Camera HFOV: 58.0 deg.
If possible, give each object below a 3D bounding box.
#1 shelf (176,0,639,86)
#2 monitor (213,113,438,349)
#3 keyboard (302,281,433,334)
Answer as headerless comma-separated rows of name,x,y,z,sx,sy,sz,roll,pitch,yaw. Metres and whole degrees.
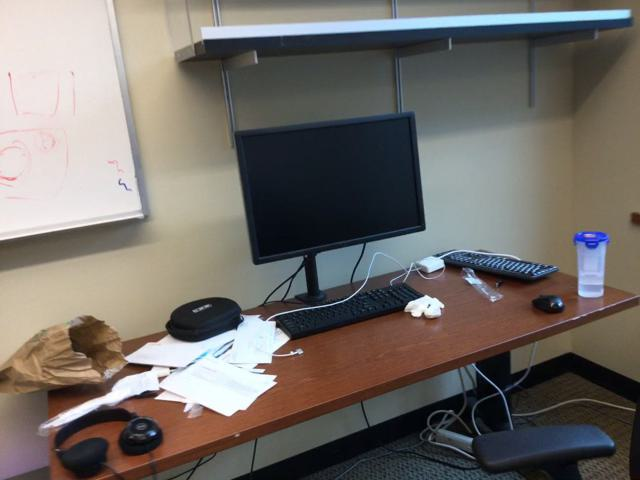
shelf,0.320,-0.940,1.700,1.450,0.770,0.480,-11,8,-22
monitor,0.030,-0.050,1.710,0.560,0.570,0.220,-12,9,-28
keyboard,0.140,0.190,1.690,0.340,0.050,0.170,-12,9,-29
